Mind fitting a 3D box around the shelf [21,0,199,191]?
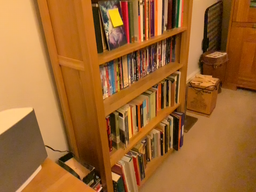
[{"bbox_3d":[0.020,-0.310,1.210,0.380,1.990,0.960,17,34,34],"label":"shelf"}]
